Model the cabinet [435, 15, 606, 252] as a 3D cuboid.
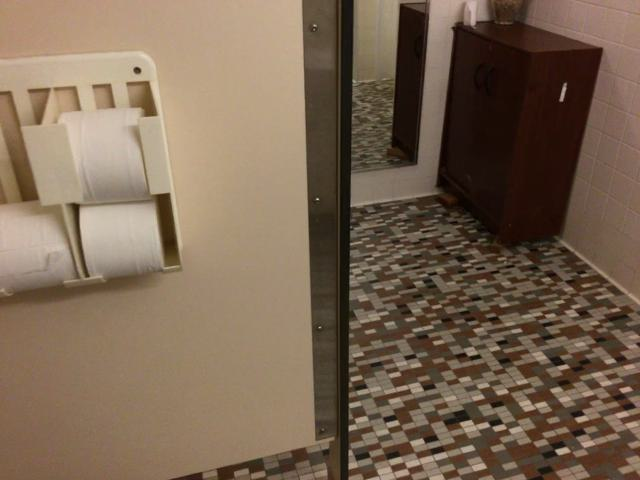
[{"bbox_3d":[0.810,-0.480,2.520,0.310,0.830,0.620,-10,31,-13],"label":"cabinet"}]
